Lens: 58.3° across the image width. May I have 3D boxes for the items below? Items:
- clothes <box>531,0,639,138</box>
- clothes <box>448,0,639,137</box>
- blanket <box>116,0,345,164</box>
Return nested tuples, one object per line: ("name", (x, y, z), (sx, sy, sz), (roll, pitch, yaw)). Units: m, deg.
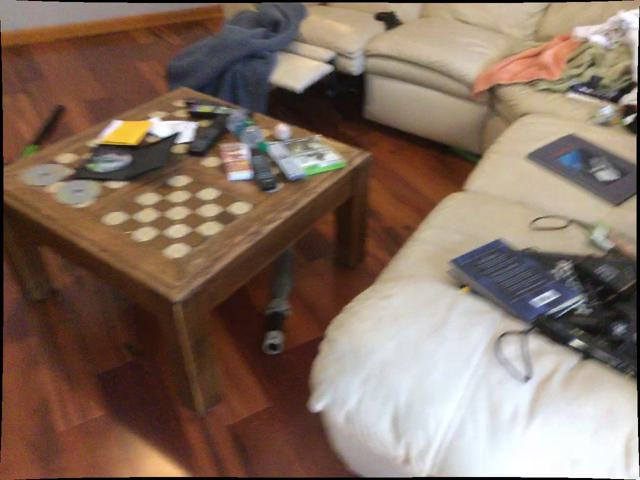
("clothes", (1.129, -0.651, 2.000), (0.530, 0.320, 0.450), (-20, 42, -25))
("clothes", (0.929, -0.731, 2.270), (0.640, 0.350, 0.460), (-20, 42, -25))
("blanket", (-0.370, -0.821, 2.710), (0.779, 0.530, 0.690), (13, 39, 15))
